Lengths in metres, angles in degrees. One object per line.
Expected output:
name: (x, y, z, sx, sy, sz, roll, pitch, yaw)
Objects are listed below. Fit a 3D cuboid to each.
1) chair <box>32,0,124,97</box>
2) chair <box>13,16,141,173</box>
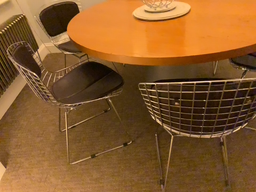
chair: (-0.440, -0.480, 2.010, 0.590, 0.760, 0.380, 22, 46, 35)
chair: (-0.280, -0.020, 1.360, 0.490, 0.760, 0.450, -27, 40, -22)
